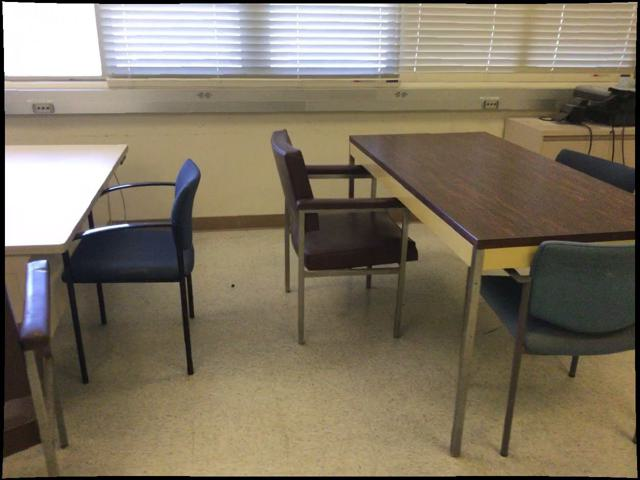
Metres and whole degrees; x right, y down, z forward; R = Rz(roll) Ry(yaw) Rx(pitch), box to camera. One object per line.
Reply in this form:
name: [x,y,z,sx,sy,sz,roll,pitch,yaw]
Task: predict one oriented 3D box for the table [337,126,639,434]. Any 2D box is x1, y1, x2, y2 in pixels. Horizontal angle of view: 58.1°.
table: [0.648,0.000,2.490,0.858,0.651,1.550,-3,23,-9]
